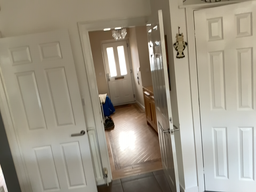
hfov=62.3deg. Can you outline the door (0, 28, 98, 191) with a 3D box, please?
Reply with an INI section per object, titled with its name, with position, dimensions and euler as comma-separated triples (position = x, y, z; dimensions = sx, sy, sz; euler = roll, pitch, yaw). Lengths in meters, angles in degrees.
[door]
position = -0.890, 0.360, 2.350
dimensions = 0.820, 2.060, 0.080
euler = -9, 12, -8
